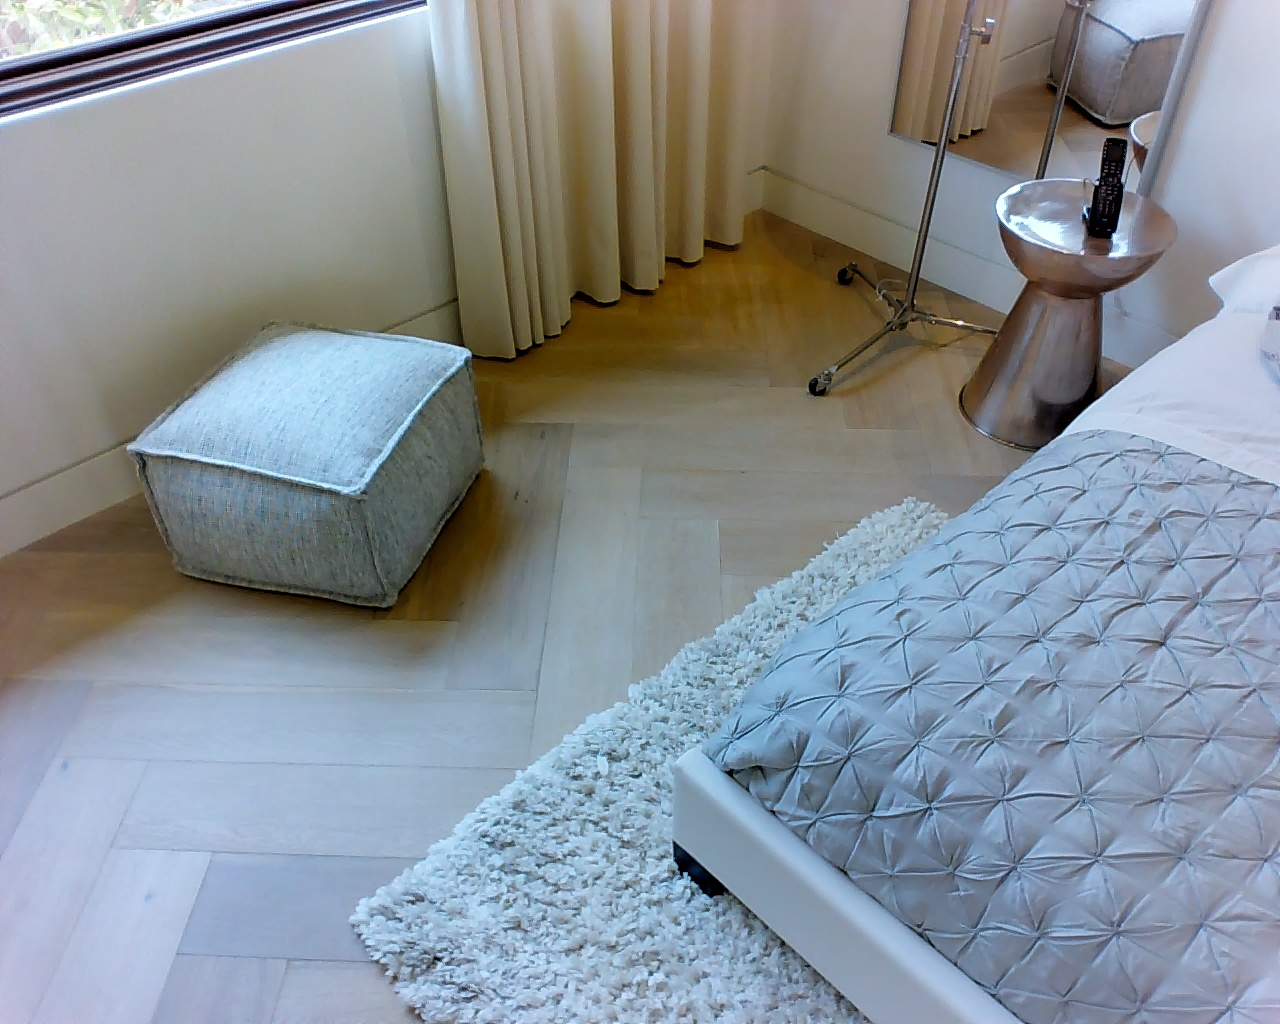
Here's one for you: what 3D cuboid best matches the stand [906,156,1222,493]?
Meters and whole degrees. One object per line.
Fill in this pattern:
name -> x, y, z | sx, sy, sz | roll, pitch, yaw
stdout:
stand -> 1.040, -0.480, 2.690 | 0.490, 0.580, 0.440 | -33, 50, -32
